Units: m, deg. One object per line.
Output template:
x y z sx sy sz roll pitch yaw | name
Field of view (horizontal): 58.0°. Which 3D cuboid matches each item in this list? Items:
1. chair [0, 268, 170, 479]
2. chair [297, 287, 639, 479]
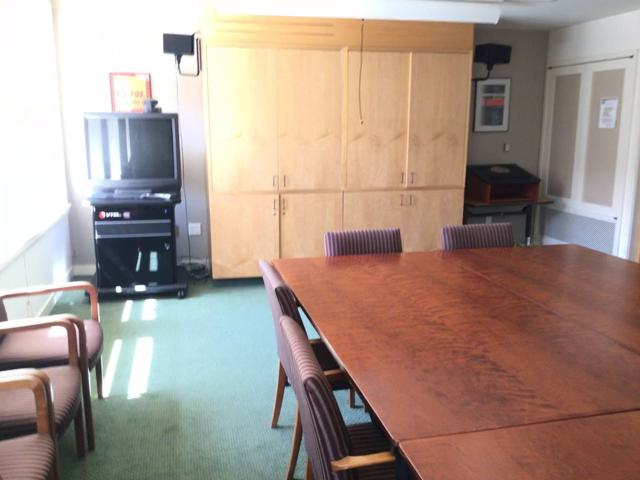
-1.070 0.650 2.690 0.590 0.880 0.650 -5 9 -10 | chair
0.400 0.710 1.750 0.790 0.940 0.630 -5 9 -10 | chair
